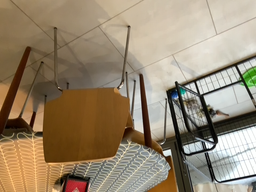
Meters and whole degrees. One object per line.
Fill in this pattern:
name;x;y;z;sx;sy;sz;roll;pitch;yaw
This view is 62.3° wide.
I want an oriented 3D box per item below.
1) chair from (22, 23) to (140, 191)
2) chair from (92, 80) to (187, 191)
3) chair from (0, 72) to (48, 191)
chair;-0.220;0.070;1.240;0.420;0.870;0.530;1;142;-7
chair;0.060;0.410;1.710;0.530;0.870;0.420;23;135;-31
chair;-0.910;0.300;1.460;0.530;0.870;0.420;7;141;-14
